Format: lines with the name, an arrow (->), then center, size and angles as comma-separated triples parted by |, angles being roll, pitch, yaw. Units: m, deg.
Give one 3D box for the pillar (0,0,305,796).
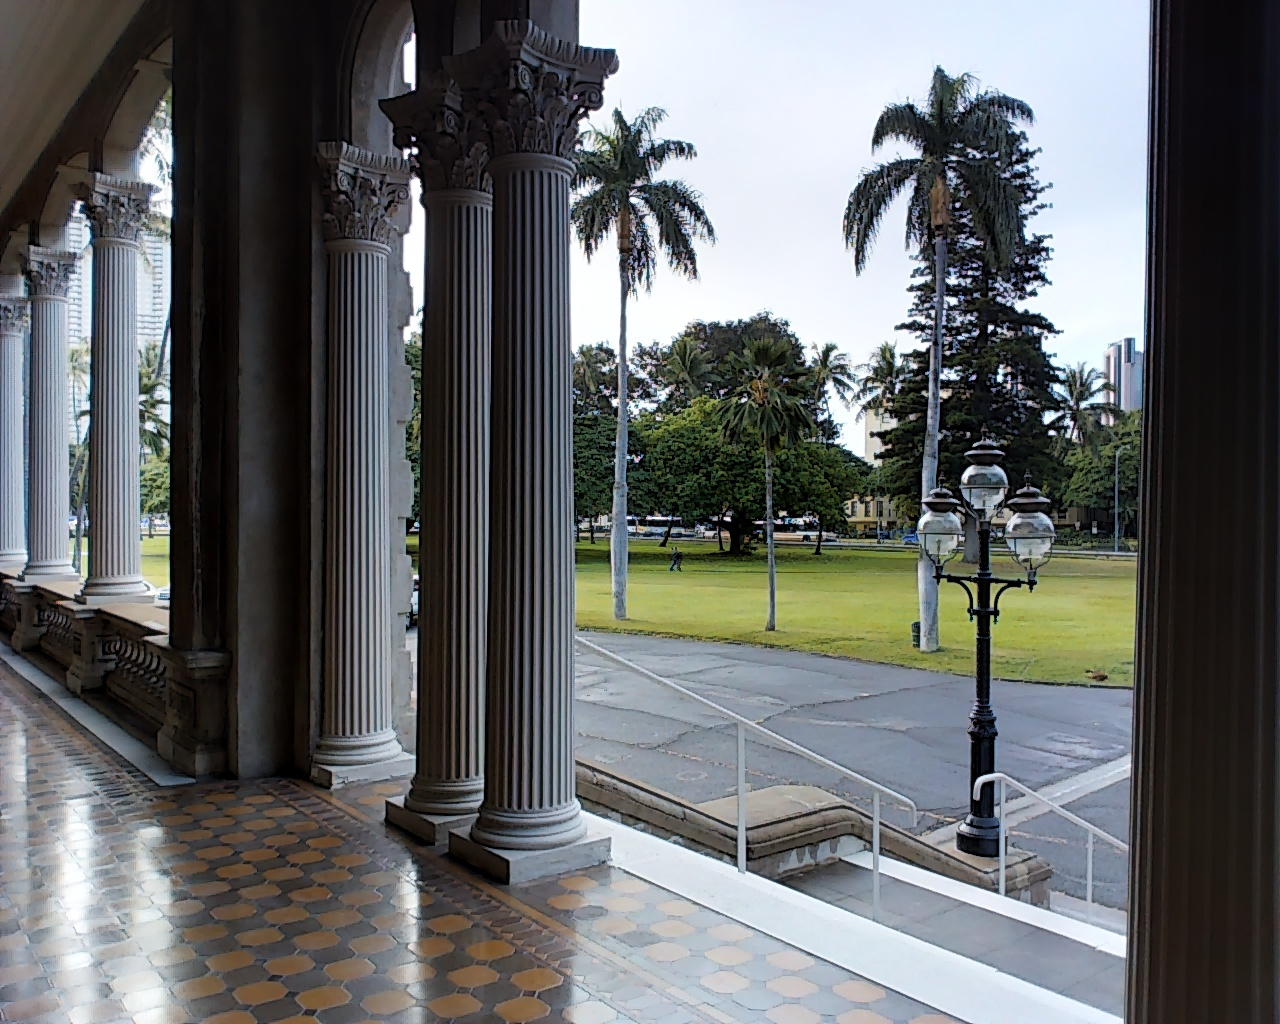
pillar -> -6.399, -1.310, 11.340 | 0.680, 5.601, 13.399 | 0, 1, -38
